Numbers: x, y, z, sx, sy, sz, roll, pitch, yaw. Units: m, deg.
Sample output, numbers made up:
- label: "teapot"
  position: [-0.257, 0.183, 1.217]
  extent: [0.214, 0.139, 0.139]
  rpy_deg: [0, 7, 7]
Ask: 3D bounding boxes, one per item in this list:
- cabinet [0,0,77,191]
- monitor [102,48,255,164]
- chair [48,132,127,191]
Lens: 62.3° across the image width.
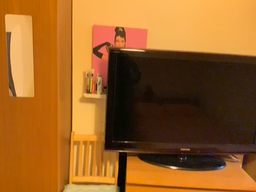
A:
- label: "cabinet"
  position: [-0.940, -0.040, 1.510]
  extent: [1.050, 2.360, 0.380]
  rpy_deg: [3, 12, 0]
- label: "monitor"
  position: [0.410, 0.090, 1.470]
  extent: [1.140, 0.760, 0.100]
  rpy_deg: [2, 12, -5]
- label: "chair"
  position: [-0.280, 0.770, 1.570]
  extent: [0.440, 0.830, 0.580]
  rpy_deg: [2, 12, -7]
